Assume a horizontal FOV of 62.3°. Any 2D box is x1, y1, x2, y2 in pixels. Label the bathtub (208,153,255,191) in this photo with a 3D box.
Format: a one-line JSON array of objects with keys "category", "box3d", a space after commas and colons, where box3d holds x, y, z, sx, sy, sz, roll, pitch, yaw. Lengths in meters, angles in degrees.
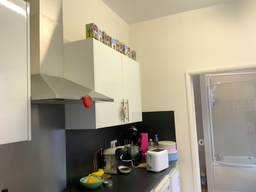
[{"category": "bathtub", "box3d": [1.970, 1.420, 3.860, 0.890, 0.550, 0.840, -4, -4, 23]}]
